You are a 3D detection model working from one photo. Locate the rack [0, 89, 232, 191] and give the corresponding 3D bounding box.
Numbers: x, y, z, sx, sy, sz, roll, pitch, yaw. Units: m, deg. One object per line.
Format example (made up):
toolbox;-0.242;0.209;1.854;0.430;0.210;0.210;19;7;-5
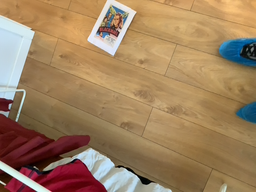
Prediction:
rack;-0.260;0.430;0.900;1.190;0.800;0.570;20;95;14
